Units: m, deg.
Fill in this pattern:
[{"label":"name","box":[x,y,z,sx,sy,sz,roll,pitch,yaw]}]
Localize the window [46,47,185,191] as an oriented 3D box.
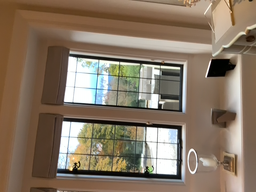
[{"label":"window","box":[-0.100,0.600,2.400,0.090,1.480,2.250,127,146,-80]}]
